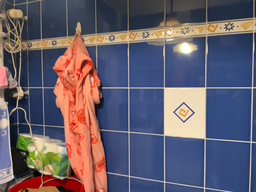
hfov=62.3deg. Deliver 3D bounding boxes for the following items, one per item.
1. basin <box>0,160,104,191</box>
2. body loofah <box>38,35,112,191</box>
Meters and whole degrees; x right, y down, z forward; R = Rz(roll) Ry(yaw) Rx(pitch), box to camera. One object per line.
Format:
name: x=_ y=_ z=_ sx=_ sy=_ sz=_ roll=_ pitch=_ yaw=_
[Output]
basin: x=-0.430 y=0.540 z=1.160 sx=0.460 sy=0.190 sz=0.390 roll=2 pitch=4 yaw=25
body loofah: x=-0.310 y=0.190 z=1.260 sx=0.410 sy=1.030 sz=0.130 roll=1 pitch=4 yaw=21
